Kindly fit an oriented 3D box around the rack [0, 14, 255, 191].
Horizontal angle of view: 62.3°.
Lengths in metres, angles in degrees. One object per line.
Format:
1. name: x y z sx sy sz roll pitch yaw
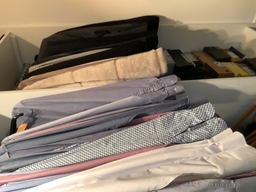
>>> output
1. rack: 0.380 0.310 0.840 2.230 2.030 0.640 -106 15 -53
